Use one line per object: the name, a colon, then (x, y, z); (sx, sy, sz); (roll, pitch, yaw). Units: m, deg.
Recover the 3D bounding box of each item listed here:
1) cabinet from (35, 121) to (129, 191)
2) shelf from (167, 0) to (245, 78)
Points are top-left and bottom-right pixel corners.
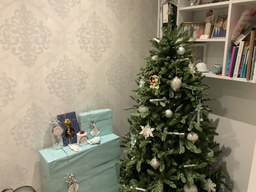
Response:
cabinet: (-0.330, 0.700, 1.770); (0.270, 0.780, 0.700); (14, 20, 43)
shelf: (0.610, -0.590, 1.720); (0.220, 0.800, 0.520); (-11, 18, -38)
